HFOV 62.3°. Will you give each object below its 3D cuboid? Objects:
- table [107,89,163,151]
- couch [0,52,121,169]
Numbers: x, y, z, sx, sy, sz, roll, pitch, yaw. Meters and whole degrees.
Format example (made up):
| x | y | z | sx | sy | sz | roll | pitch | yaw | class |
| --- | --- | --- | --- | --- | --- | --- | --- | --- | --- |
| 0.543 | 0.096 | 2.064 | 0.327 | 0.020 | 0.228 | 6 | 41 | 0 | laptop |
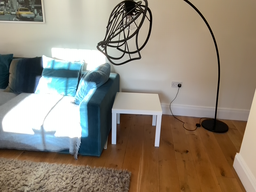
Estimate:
| x | y | z | sx | sy | sz | roll | pitch | yaw | class |
| --- | --- | --- | --- | --- | --- | --- | --- | --- | --- |
| 0.090 | 0.270 | 2.650 | 0.600 | 0.510 | 0.600 | 4 | 21 | 4 | table |
| -1.920 | -0.030 | 2.770 | 3.490 | 0.860 | 1.350 | 4 | 21 | 5 | couch |
